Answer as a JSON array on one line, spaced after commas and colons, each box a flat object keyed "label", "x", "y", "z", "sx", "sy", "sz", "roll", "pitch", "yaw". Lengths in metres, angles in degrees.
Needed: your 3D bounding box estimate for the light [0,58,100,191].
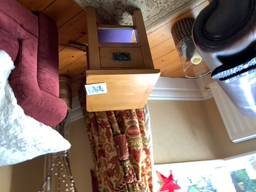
[{"label": "light", "x": -0.560, "y": 0.670, "z": 1.420, "sx": 0.530, "sy": 1.760, "sz": 0.510, "roll": -27, "pitch": 147, "yaw": 29}]
